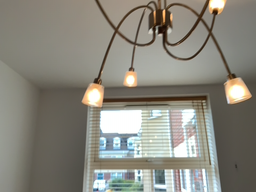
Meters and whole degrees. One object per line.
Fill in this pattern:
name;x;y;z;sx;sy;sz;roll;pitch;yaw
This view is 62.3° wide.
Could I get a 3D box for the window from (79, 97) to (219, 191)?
window;0.170;0.660;1.960;1.230;1.310;0.070;-2;-18;4
